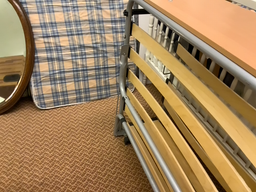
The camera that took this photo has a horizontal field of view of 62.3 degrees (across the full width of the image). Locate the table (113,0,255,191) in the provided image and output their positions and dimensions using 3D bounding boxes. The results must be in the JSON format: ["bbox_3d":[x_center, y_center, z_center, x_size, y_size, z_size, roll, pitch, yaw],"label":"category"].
[{"bbox_3d":[0.250,0.110,0.880,0.370,0.860,0.830,-10,42,-18],"label":"table"}]
